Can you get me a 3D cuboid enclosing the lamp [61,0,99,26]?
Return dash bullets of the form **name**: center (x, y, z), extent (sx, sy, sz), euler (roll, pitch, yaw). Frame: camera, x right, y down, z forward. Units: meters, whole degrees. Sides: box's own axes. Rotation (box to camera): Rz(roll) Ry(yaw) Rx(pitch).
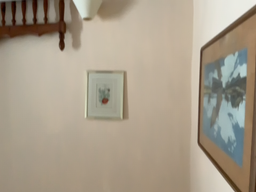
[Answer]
- **lamp**: center (-0.400, -0.840, 1.800), extent (0.250, 0.410, 0.230), euler (0, -177, 9)
